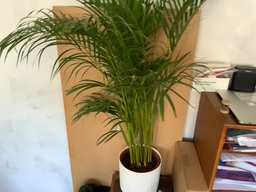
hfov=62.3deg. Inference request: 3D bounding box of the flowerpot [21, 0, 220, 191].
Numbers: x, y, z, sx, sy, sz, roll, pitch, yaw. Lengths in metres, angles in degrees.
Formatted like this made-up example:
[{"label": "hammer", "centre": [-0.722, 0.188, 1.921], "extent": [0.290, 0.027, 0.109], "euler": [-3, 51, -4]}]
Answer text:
[{"label": "flowerpot", "centre": [-0.040, 0.080, 1.120], "extent": [0.650, 1.110, 0.450], "euler": [2, 25, 0]}]
